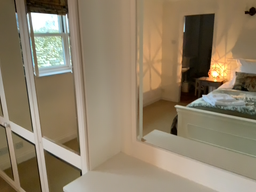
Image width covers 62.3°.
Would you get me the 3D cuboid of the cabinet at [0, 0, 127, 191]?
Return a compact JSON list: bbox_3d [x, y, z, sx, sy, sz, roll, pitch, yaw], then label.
[{"bbox_3d":[-0.800,-0.110,1.780,1.760,2.350,0.310,11,20,38],"label":"cabinet"}]
